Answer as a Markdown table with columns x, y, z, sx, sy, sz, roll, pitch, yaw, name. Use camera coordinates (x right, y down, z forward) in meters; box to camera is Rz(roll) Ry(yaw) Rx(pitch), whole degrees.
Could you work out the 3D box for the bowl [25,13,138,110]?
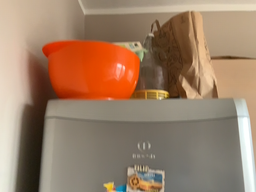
| x | y | z | sx | sy | sz | roll | pitch | yaw | name |
| --- | --- | --- | --- | --- | --- | --- | --- | --- | --- |
| -0.120 | -0.090 | 0.790 | 0.310 | 0.230 | 0.380 | 0 | -13 | 2 | bowl |
